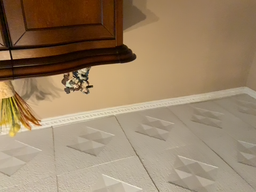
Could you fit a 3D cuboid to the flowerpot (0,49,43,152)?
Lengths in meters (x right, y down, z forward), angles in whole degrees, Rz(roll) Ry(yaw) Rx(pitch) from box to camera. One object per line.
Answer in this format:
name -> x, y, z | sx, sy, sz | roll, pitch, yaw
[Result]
flowerpot -> -0.680, 0.000, 1.250 | 0.250, 0.440, 0.440 | -7, -152, -16
